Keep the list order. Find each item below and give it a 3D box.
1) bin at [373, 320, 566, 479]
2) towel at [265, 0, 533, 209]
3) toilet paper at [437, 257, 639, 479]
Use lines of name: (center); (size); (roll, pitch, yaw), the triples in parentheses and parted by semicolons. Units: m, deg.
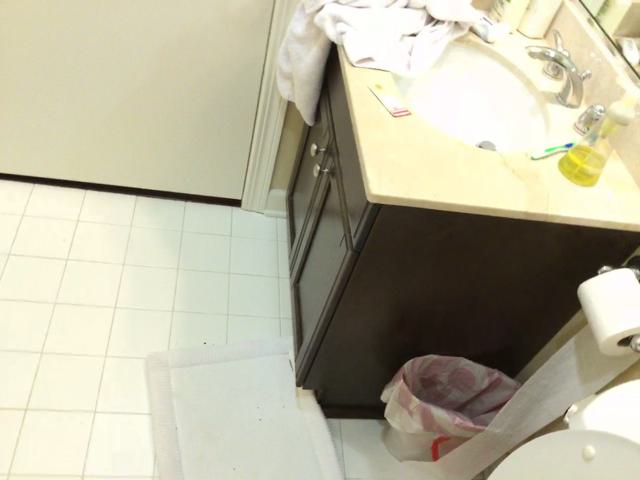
bin: (0.330, 0.390, 1.370); (0.320, 0.210, 0.310); (6, 47, -14)
towel: (0.130, -0.390, 1.350); (0.430, 0.470, 0.360); (6, 47, -14)
toilet paper: (0.460, 0.310, 1.220); (0.150, 0.670, 0.140); (6, 47, -14)
